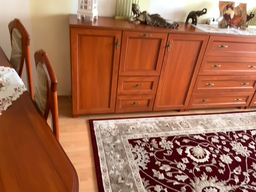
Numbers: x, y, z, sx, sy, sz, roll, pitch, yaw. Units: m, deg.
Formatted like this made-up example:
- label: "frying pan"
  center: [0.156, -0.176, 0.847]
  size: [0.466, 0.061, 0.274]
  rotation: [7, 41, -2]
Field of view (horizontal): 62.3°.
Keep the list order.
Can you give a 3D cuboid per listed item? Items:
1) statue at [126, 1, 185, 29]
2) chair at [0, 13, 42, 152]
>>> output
- label: "statue"
  center: [0.260, -0.820, 2.140]
  size: [0.490, 0.160, 0.340]
  rotation: [-1, 31, -15]
- label: "chair"
  center: [-1.000, -0.080, 1.660]
  size: [0.460, 1.020, 0.360]
  rotation: [-11, 35, -30]
